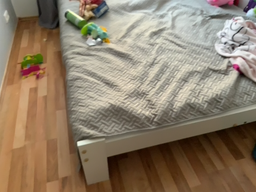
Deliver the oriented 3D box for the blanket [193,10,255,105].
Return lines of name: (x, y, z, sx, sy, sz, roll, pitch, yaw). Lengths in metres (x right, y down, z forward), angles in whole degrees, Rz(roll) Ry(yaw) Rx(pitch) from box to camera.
blanket: (0.790, -0.290, 1.340, 0.410, 0.200, 0.730, -9, 43, -10)
